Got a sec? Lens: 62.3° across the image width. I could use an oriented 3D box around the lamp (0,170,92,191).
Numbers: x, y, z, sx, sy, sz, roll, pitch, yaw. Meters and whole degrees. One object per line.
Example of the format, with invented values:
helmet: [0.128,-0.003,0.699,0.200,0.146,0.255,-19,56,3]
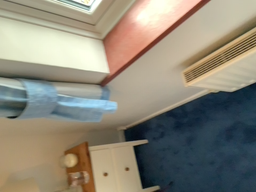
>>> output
lamp: [-0.560,0.670,1.400,0.330,0.540,0.230,-28,66,46]
